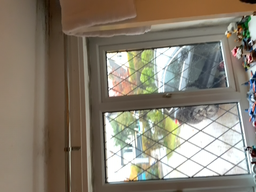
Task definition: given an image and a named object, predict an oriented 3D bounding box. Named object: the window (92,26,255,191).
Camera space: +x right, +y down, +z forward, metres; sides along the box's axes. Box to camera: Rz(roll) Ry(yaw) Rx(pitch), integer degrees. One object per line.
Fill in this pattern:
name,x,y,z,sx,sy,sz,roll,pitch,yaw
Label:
window,0.270,0.270,1.490,0.080,1.010,1.560,74,-169,-75
